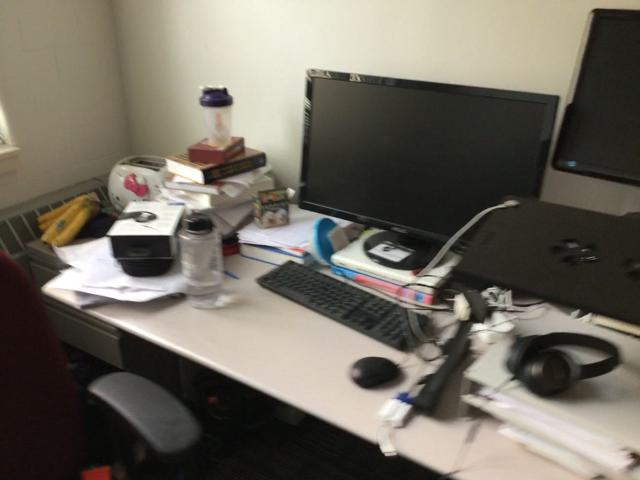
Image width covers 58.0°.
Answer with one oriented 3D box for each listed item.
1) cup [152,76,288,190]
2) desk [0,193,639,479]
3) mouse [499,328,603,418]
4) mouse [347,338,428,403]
[{"bbox_3d":[-0.280,-0.330,1.710,0.200,0.260,0.350,14,26,30],"label":"cup"},{"bbox_3d":[0.010,0.490,1.560,2.030,0.730,0.780,14,26,30],"label":"desk"},{"bbox_3d":[0.370,0.210,0.930,0.130,0.070,0.090,14,26,30],"label":"mouse"},{"bbox_3d":[0.130,0.250,1.120,0.130,0.060,0.080,-11,25,-27],"label":"mouse"}]
